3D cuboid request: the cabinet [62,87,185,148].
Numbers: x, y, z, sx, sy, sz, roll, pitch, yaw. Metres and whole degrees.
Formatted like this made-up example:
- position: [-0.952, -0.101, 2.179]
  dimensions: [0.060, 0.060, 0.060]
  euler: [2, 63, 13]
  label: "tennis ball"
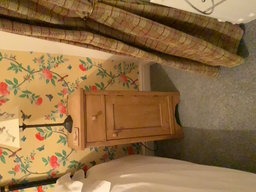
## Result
- position: [-0.030, 0.150, 1.590]
  dimensions: [0.410, 0.810, 0.350]
  euler: [-9, 80, 60]
  label: "cabinet"
